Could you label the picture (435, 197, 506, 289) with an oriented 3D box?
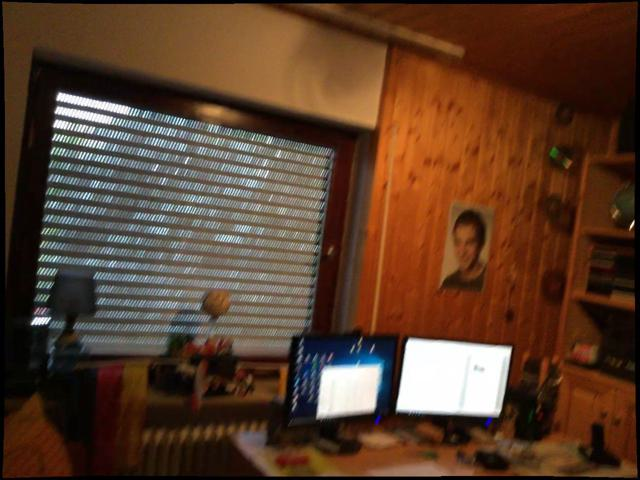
[{"bbox_3d":[0.759,0.020,2.910,0.330,0.430,0.070,6,3,-29],"label":"picture"}]
